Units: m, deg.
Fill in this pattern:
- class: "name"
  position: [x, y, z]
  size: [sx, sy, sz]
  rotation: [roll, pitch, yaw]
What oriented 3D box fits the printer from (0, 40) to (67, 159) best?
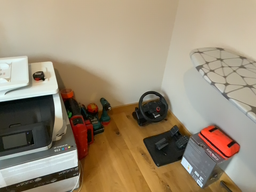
- class: "printer"
  position: [-0.680, 0.010, 1.270]
  size: [0.500, 0.510, 0.440]
  rotation: [-9, 39, -20]
